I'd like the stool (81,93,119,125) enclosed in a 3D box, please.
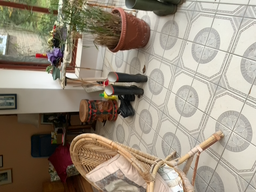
[{"bbox_3d":[-0.350,0.150,2.580,0.280,0.340,0.280,40,124,54],"label":"stool"}]

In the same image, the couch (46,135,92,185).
[{"bbox_3d":[-0.990,1.040,3.500,0.540,0.570,0.510,-64,38,37],"label":"couch"}]
